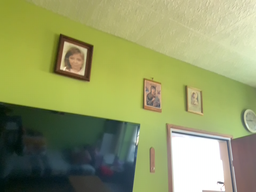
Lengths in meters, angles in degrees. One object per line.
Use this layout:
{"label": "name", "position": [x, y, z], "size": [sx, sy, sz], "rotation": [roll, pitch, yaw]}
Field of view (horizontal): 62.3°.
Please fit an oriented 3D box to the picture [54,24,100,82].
{"label": "picture", "position": [-0.390, -0.330, 1.660], "size": [0.310, 0.400, 0.050], "rotation": [11, -22, -26]}
